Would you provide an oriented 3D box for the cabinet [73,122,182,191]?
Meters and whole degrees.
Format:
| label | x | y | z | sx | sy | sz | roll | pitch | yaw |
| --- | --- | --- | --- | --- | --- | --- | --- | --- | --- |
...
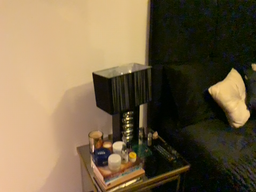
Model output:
| label | x | y | z | sx | sy | sz | roll | pitch | yaw |
| --- | --- | --- | --- | --- | --- | --- | --- | --- | --- |
| cabinet | -0.040 | 0.560 | 1.330 | 0.450 | 0.530 | 0.530 | -9 | 23 | -24 |
